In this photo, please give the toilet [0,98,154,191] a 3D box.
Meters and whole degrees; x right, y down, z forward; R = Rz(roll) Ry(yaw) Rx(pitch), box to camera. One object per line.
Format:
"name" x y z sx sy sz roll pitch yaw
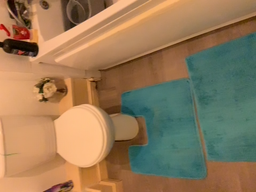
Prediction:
"toilet" -0.340 0.250 1.330 0.640 0.750 0.370 -12 84 41
